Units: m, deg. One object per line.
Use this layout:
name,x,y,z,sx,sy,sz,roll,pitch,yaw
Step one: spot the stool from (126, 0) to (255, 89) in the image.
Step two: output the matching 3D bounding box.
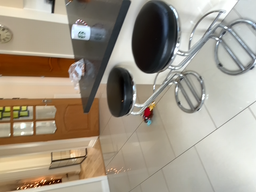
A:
stool,0.400,-0.280,1.270,0.340,0.680,0.340,121,140,-48

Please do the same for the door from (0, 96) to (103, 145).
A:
door,-1.470,0.410,3.820,0.130,2.070,0.760,169,98,-64
